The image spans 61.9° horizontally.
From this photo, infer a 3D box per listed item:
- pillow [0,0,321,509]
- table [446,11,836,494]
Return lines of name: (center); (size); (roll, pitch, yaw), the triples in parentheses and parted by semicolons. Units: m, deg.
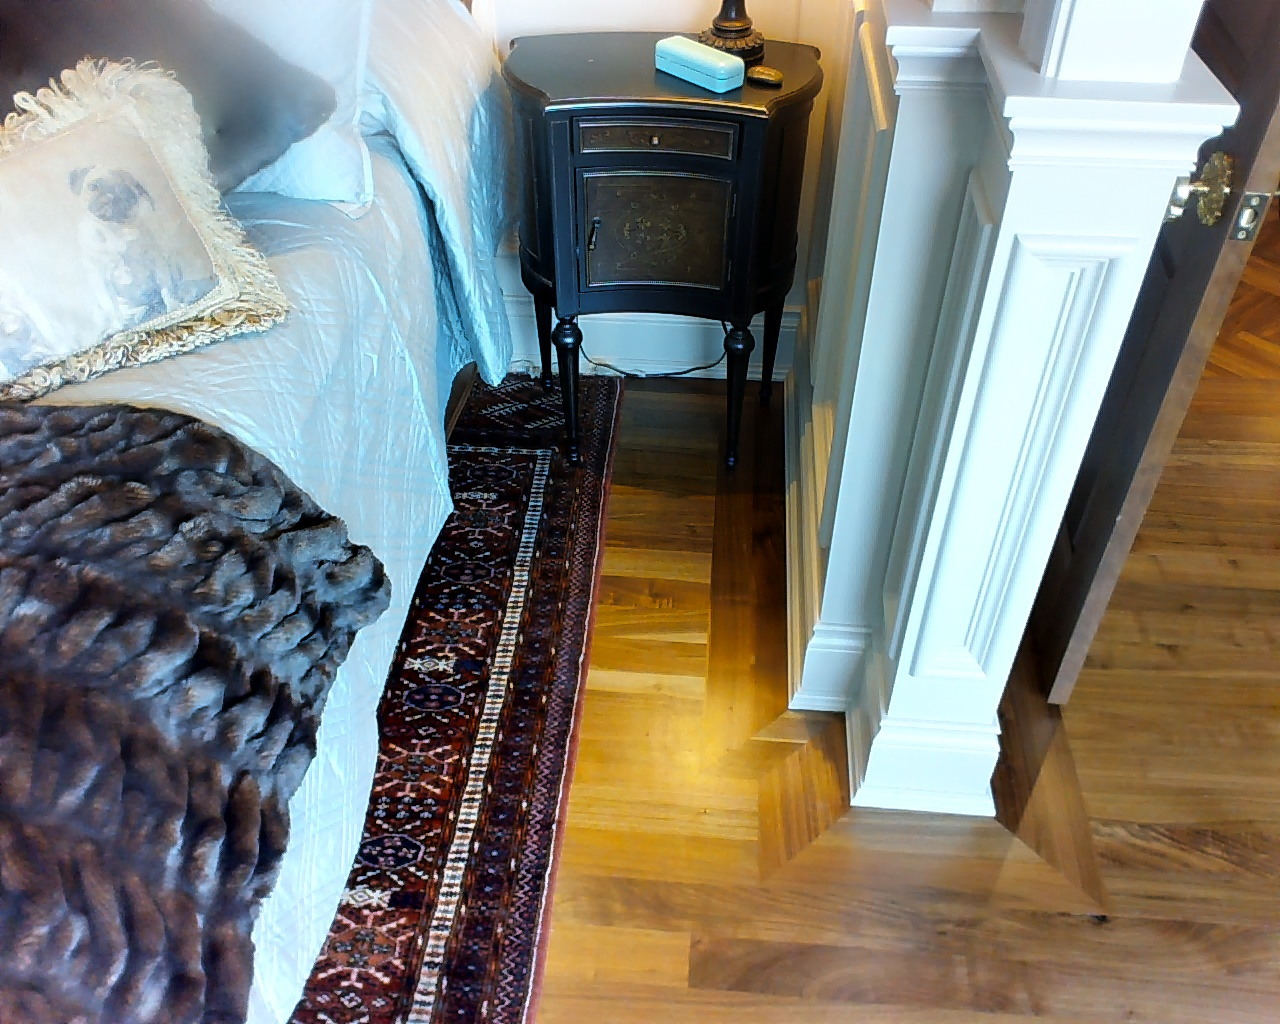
pillow: (-0.710, -0.330, 1.240); (0.510, 0.390, 0.150); (-45, 30, -3)
table: (0.020, -0.490, 2.110); (0.620, 0.810, 0.400); (3, 42, 5)
